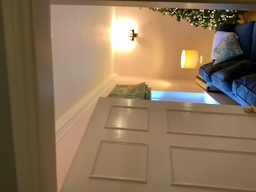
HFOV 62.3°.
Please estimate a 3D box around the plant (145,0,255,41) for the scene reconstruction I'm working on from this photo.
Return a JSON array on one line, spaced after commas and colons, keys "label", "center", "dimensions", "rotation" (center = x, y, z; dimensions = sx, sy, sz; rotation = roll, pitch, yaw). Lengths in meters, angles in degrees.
[{"label": "plant", "center": [1.180, -1.550, 3.700], "dimensions": [0.930, 1.690, 0.980], "rotation": [-76, -10, -70]}]
